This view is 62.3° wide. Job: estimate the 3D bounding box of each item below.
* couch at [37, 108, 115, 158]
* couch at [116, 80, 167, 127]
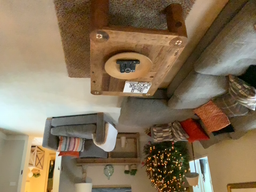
[{"bbox_3d":[-1.050,0.850,4.640,1.350,0.800,1.000,-4,157,5],"label":"couch"},{"bbox_3d":[0.170,0.180,3.630,0.650,0.420,1.080,2,157,-8],"label":"couch"}]
